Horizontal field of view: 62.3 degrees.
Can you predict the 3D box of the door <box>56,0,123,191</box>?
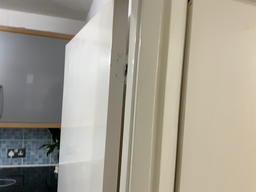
[{"bbox_3d":[-0.270,0.660,0.960,0.020,1.940,0.830,3,2,-25],"label":"door"}]
